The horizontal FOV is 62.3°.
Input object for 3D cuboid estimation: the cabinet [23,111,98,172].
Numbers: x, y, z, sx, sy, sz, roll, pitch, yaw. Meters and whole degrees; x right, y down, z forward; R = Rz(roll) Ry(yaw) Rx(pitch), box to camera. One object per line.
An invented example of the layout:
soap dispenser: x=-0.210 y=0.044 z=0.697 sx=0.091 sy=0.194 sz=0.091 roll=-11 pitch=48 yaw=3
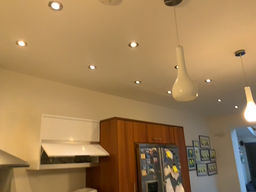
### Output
cabinet: x=-0.810 y=0.590 z=2.690 sx=0.340 sy=0.640 sz=0.820 roll=-17 pitch=-22 yaw=42
